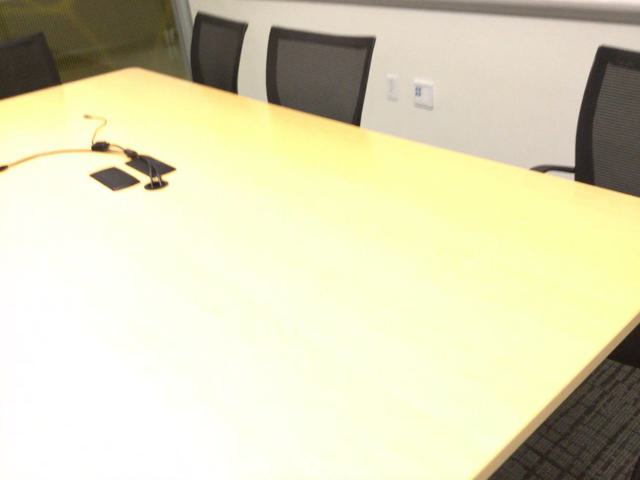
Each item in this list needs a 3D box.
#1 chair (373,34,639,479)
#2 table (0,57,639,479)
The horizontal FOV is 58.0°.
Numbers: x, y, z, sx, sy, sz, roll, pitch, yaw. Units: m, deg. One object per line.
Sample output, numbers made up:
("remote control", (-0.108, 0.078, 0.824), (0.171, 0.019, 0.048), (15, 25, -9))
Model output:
("chair", (0.610, 0.050, 1.390), (0.660, 0.870, 0.650), (-26, 36, -31))
("table", (-0.450, 0.120, 1.700), (1.260, 0.750, 2.430), (-26, 36, -31))
